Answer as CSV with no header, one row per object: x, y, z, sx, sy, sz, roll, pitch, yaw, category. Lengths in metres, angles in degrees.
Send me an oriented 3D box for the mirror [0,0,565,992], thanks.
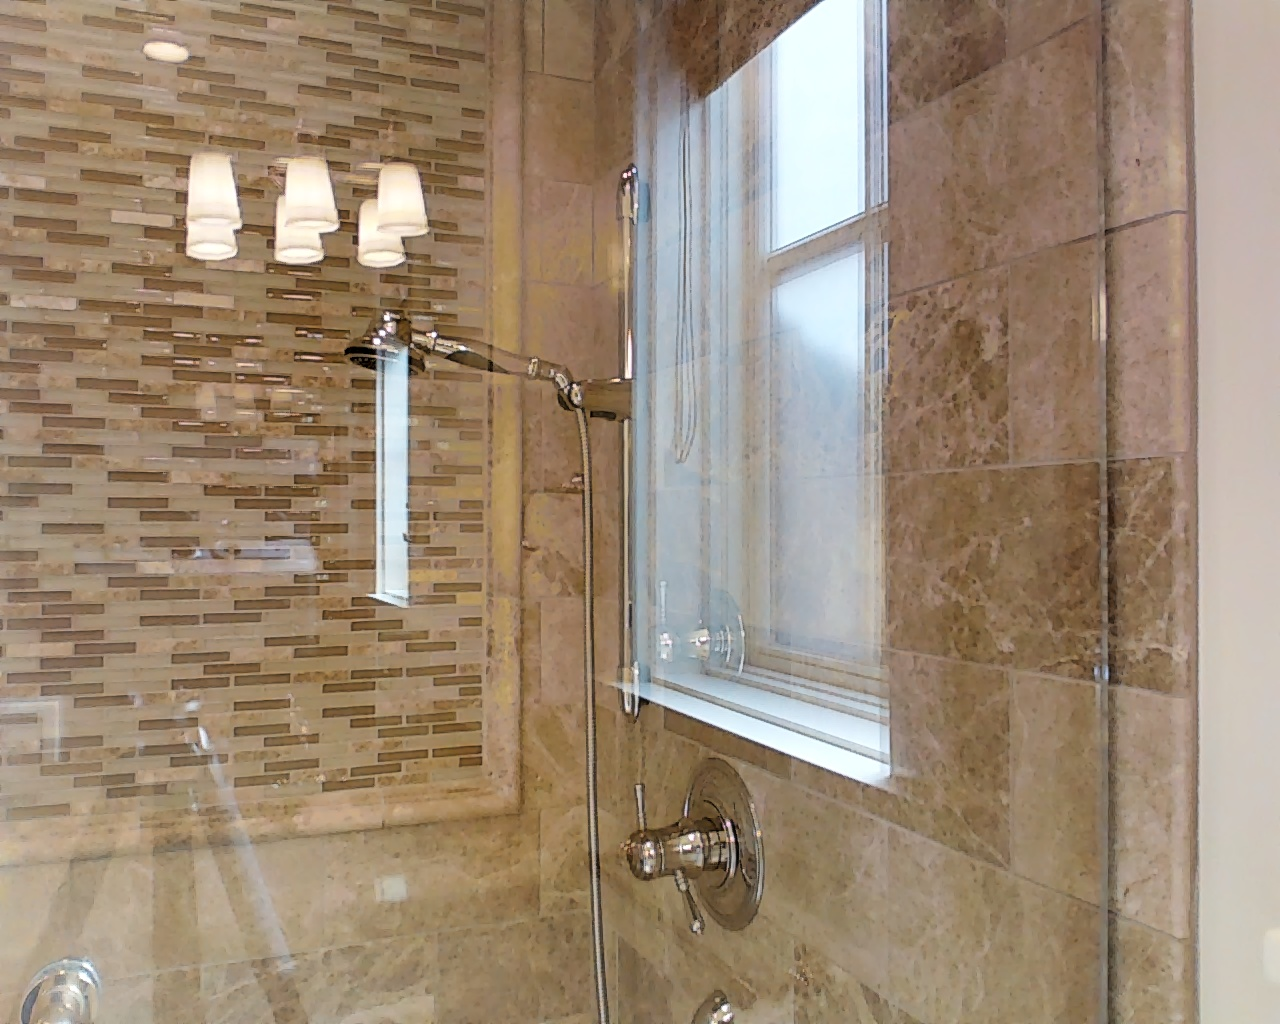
-0.610,-0.130,1.370,1.060,1.411,0.040,1,0,-23,mirror
